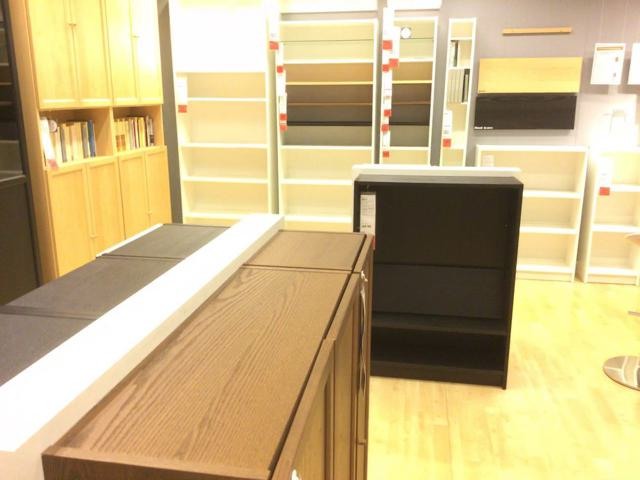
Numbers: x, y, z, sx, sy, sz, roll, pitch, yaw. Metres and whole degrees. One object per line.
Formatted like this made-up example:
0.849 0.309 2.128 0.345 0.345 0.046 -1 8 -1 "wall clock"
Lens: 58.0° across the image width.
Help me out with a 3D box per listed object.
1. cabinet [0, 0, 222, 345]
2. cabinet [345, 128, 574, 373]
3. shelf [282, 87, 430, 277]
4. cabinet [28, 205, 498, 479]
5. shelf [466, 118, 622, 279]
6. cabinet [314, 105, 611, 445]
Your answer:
-1.360 -0.700 3.810 0.710 2.290 1.590 -1 13 11 "cabinet"
0.740 0.050 3.190 0.950 1.080 0.570 10 -2 12 "cabinet"
0.270 -0.450 4.460 0.860 1.250 0.320 14 15 7 "shelf"
-0.060 0.600 1.360 0.530 1.080 1.260 14 15 7 "cabinet"
1.590 -0.310 4.210 0.780 0.980 0.290 14 15 7 "shelf"
0.600 0.150 2.670 0.920 1.220 0.500 22 30 16 "cabinet"
